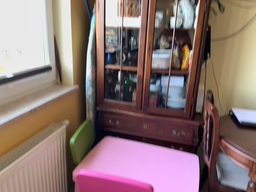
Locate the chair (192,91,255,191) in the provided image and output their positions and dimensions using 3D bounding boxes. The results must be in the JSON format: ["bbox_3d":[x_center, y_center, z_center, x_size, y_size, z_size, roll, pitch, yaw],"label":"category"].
[{"bbox_3d":[0.760,0.490,1.500,0.490,0.910,0.440,9,19,17],"label":"chair"}]

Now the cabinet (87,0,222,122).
[{"bbox_3d":[0.190,-0.440,1.720,0.910,1.070,0.460,8,18,14],"label":"cabinet"}]
